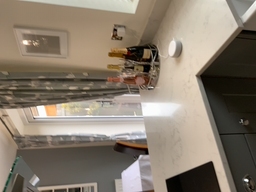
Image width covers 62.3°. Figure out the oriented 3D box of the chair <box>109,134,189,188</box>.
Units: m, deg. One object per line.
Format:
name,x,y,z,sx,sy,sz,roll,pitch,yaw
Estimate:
chair,0.250,0.890,2.920,0.470,0.900,0.570,116,150,-58
